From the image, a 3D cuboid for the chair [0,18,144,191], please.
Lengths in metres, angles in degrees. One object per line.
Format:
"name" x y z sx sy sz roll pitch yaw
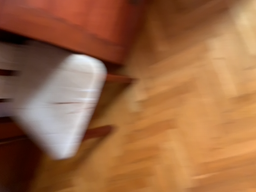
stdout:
"chair" -0.420 -0.020 0.890 0.530 0.960 0.460 28 102 22
